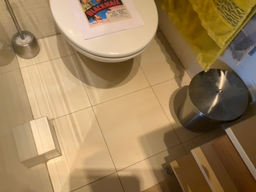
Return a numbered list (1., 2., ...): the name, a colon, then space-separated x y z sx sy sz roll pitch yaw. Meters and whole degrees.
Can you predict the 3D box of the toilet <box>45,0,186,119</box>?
1. toilet: -0.110 -0.270 0.950 0.390 0.440 0.530 -17 68 -15
